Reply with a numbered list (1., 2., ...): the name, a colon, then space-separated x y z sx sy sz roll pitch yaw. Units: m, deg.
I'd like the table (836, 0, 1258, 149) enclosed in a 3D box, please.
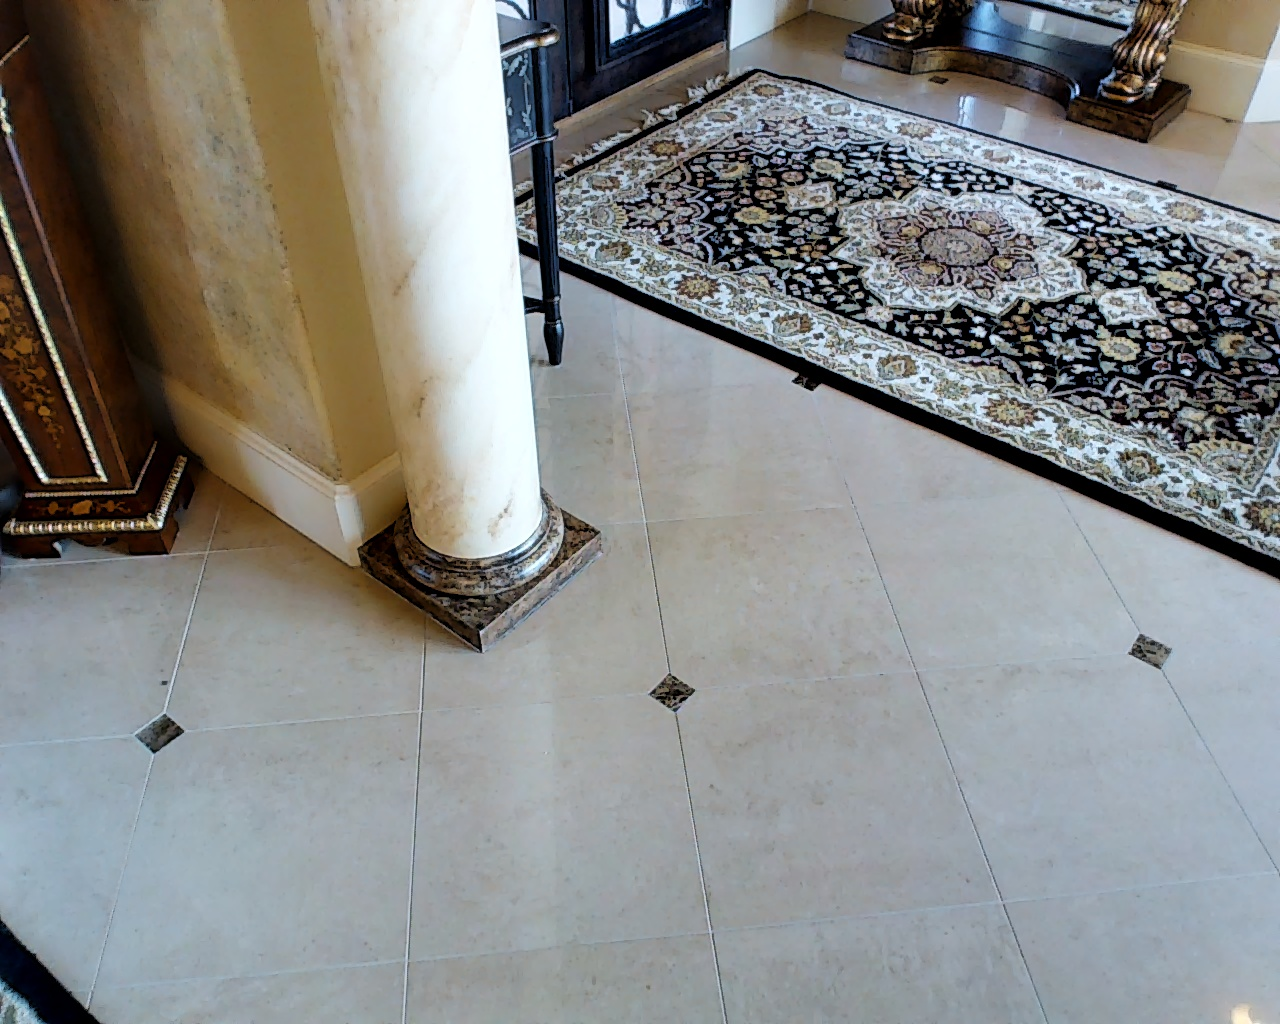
1. table: 1.410 -1.950 3.670 1.310 0.940 0.450 29 50 28
